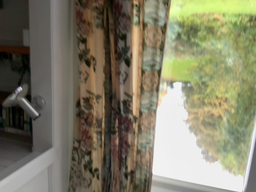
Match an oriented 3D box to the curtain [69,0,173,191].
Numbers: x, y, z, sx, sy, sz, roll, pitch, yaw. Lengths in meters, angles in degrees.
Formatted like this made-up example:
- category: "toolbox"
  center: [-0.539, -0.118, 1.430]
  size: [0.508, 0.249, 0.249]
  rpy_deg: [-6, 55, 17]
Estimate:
- category: "curtain"
  center: [-0.040, -0.330, 1.220]
  size: [0.530, 2.220, 0.230]
  rpy_deg: [7, -167, 14]
